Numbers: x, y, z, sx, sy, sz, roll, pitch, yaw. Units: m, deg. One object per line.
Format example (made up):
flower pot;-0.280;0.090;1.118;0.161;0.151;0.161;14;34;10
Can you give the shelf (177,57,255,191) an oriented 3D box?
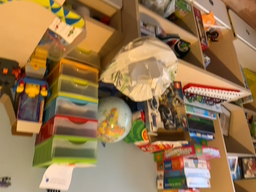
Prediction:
shelf;0.890;0.340;1.800;0.920;1.100;0.260;14;153;-36
